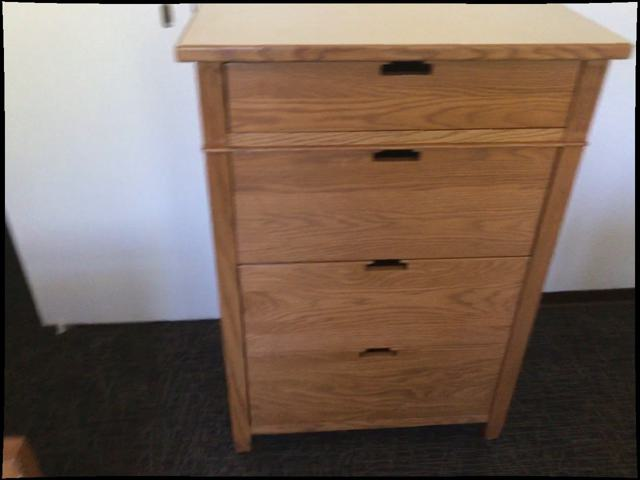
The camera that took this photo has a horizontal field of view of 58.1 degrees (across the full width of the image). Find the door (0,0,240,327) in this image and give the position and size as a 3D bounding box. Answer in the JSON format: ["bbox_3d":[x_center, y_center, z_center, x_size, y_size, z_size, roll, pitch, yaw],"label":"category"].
[{"bbox_3d":[-0.648,-0.401,1.540,0.708,1.663,0.080,-3,37,-3],"label":"door"}]
